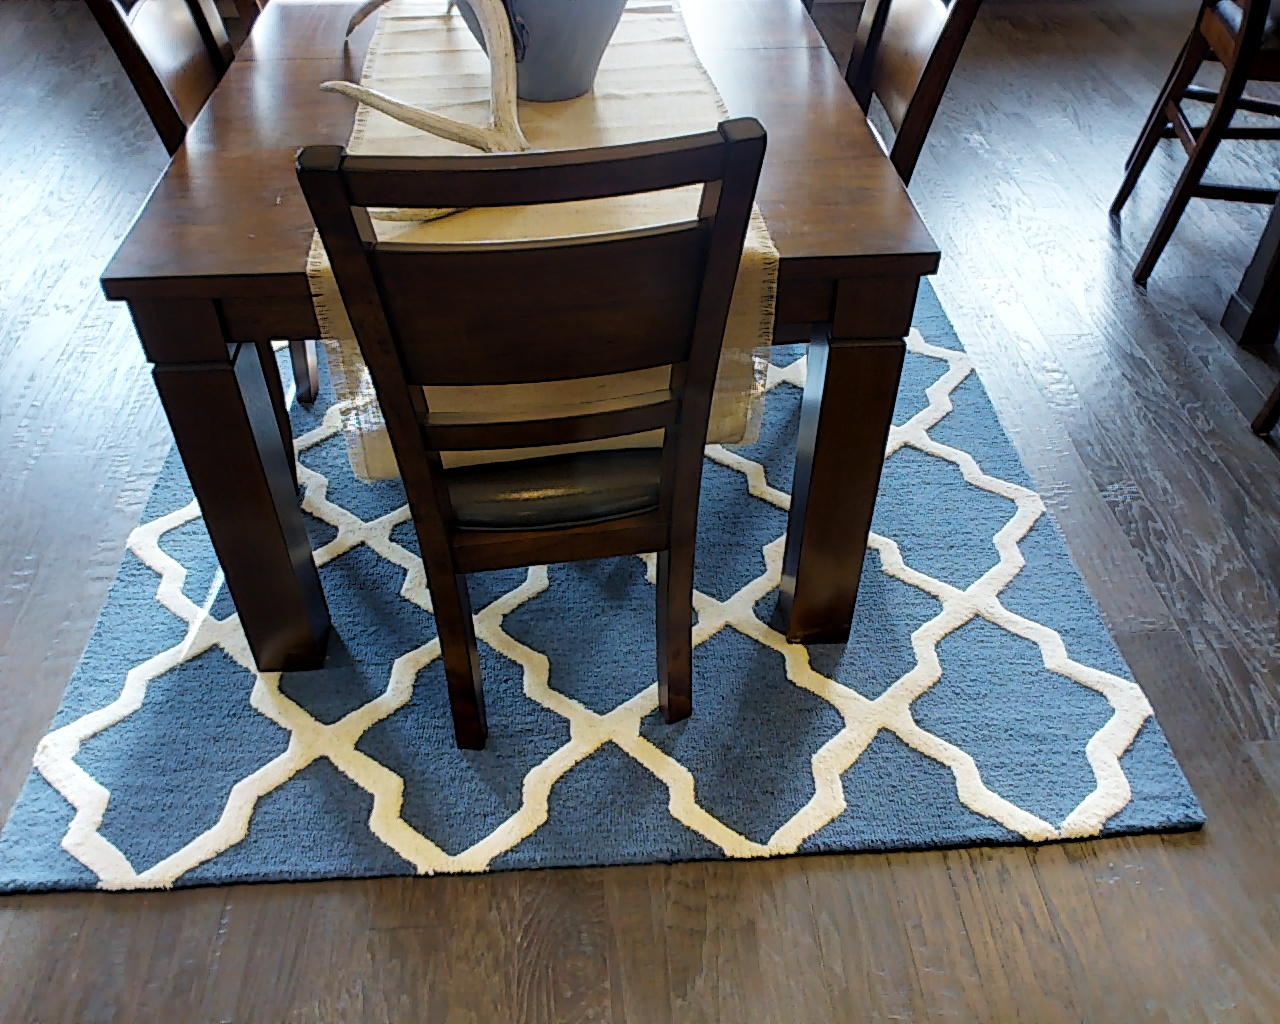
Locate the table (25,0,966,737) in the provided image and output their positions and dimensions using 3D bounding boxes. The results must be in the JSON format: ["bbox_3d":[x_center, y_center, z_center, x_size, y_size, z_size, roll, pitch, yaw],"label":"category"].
[{"bbox_3d":[-0.230,-0.680,2.300,1.080,0.760,2.190,-3,42,-3],"label":"table"}]

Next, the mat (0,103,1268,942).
[{"bbox_3d":[-0.160,-0.390,2.550,1.940,0.040,2.790,-3,42,-3],"label":"mat"}]
